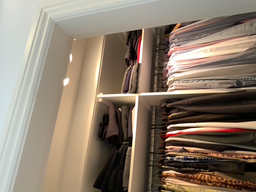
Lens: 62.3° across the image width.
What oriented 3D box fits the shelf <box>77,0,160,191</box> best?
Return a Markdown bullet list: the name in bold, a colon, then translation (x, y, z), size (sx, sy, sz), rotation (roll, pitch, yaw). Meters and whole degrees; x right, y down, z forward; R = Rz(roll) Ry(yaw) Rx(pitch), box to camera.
- **shelf**: translation (0.010, -0.290, 1.960), size (0.490, 0.390, 2.380), rotation (42, -130, -62)
